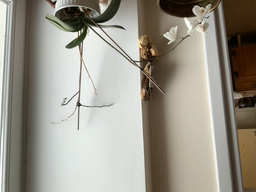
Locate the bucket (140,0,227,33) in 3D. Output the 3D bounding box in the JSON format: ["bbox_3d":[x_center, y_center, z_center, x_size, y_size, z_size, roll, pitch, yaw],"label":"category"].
[{"bbox_3d":[0.200,-0.390,0.760,0.260,0.190,0.250,-5,172,19],"label":"bucket"}]

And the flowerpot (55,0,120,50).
[{"bbox_3d":[-0.160,-0.360,0.890,0.180,0.250,0.210,-5,172,19],"label":"flowerpot"}]

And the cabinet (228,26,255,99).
[{"bbox_3d":[1.850,-0.450,2.780,0.870,0.880,0.370,-5,172,22],"label":"cabinet"}]
